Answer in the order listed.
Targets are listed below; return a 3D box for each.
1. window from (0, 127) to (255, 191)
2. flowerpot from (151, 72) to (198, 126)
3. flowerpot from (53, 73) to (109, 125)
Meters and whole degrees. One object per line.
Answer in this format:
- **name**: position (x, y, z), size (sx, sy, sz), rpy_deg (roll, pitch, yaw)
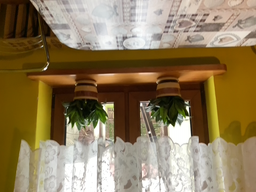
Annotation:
- **window**: position (0.060, 0.930, 1.140), size (1.470, 1.490, 0.250), rpy_deg (-1, 170, -1)
- **flowerpot**: position (0.300, 0.030, 1.450), size (0.250, 0.330, 0.240), rpy_deg (0, 170, -2)
- **flowerpot**: position (-0.310, 0.030, 1.470), size (0.340, 0.330, 0.190), rpy_deg (0, 170, -2)
